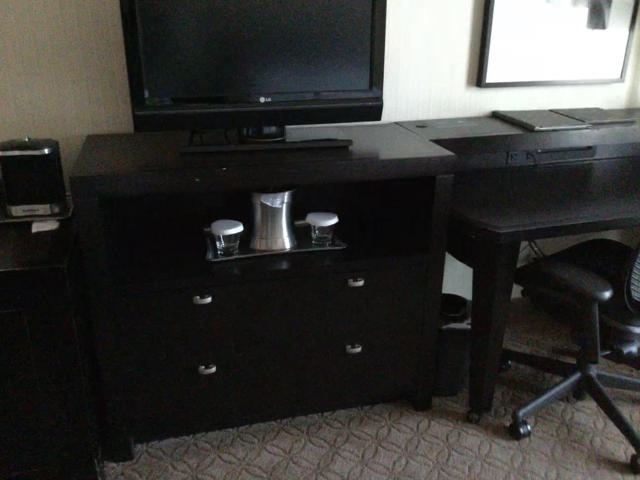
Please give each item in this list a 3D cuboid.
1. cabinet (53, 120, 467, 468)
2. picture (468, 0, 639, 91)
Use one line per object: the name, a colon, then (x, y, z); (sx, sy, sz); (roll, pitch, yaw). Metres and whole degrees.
cabinet: (-0.170, 0.140, 2.000); (1.160, 0.960, 0.470); (-6, 22, -12)
picture: (0.920, -1.040, 2.100); (0.710, 0.930, 0.080); (-6, 22, -12)
